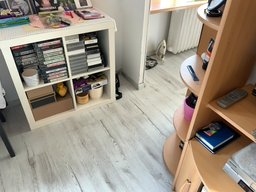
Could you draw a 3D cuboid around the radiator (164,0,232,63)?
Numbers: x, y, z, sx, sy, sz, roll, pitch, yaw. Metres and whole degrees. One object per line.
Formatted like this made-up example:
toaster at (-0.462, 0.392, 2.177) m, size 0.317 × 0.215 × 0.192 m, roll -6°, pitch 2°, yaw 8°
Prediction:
radiator at (0.930, -0.890, 2.850) m, size 0.900 × 0.640 × 0.210 m, roll -22°, pitch 45°, yaw -27°
